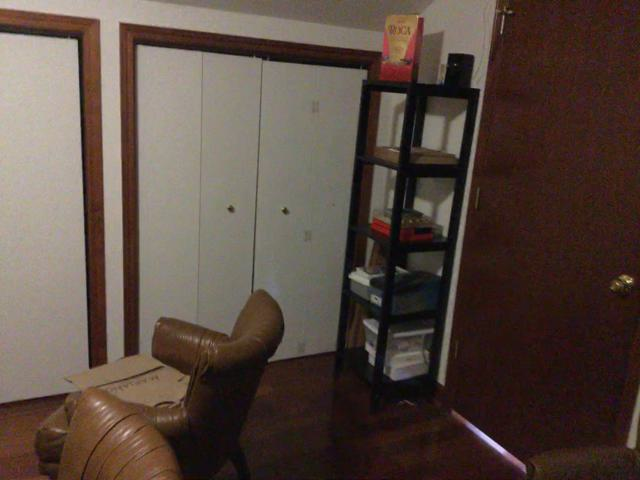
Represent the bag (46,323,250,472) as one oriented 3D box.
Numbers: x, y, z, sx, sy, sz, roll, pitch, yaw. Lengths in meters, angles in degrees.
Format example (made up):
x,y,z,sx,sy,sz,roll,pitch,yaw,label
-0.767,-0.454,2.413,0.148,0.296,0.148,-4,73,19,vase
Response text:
x,y,z,sx,sy,sz,roll,pitch,yaw,label
-0.560,0.480,1.890,0.530,0.170,0.380,14,17,31,bag
